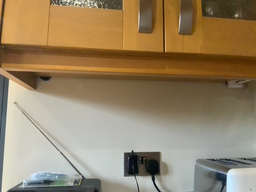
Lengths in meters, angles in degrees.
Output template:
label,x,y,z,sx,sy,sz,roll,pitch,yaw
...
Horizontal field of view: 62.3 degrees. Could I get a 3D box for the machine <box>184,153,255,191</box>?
label,x,y,z,sx,sy,sz,roll,pitch,yaw
machine,0.400,0.310,0.710,0.310,0.190,0.300,1,-8,-9
